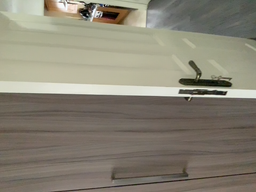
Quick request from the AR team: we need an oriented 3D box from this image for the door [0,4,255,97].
[{"bbox_3d":[0.180,-0.290,1.270,0.940,1.940,0.050,-111,27,-53],"label":"door"}]
